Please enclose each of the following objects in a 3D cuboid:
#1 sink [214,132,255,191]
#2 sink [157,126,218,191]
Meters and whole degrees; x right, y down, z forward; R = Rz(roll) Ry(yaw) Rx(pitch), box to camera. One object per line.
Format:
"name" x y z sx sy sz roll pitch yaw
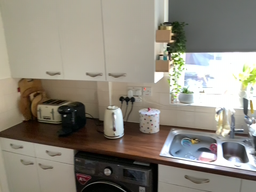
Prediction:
"sink" 0.750 0.460 1.540 0.200 0.160 0.550 4 16 20
"sink" 0.470 0.440 1.640 0.380 0.170 0.550 4 16 20
